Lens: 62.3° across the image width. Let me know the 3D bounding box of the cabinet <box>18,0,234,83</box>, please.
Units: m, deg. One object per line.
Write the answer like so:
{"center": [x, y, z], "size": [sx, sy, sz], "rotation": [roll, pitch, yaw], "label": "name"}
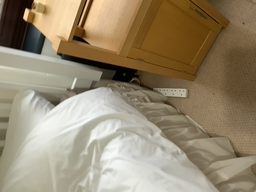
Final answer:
{"center": [0.060, -0.340, 0.920], "size": [0.340, 0.840, 0.370], "rotation": [42, 115, 37], "label": "cabinet"}
